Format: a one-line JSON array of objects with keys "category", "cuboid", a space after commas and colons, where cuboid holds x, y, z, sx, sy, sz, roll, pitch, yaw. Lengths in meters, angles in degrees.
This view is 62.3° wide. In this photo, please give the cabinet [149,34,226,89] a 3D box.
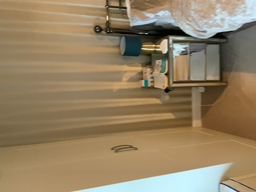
[{"category": "cabinet", "cuboid": [0.590, -0.320, 2.150, 0.380, 0.650, 0.480, -173, 81, -70]}]
